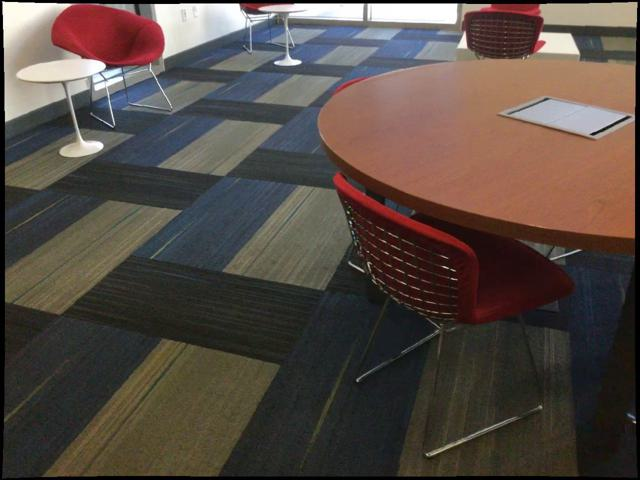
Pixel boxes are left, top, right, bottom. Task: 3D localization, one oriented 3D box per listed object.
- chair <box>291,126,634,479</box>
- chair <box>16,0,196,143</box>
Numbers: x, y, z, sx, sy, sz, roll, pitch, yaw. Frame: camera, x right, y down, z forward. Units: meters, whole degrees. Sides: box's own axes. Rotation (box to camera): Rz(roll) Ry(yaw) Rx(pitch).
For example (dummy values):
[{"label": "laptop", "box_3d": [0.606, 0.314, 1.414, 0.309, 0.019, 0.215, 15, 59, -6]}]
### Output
[{"label": "chair", "box_3d": [0.339, 0.150, 1.640, 0.579, 0.701, 0.630, -17, 33, -26]}, {"label": "chair", "box_3d": [-1.536, -1.273, 4.220, 0.819, 0.761, 0.819, 23, 37, 36]}]
